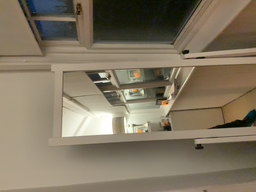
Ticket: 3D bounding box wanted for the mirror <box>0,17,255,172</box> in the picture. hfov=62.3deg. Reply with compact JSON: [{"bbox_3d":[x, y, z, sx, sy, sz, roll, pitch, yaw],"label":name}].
[{"bbox_3d":[0.460,0.000,1.170,0.420,1.950,0.610,122,145,-73],"label":"mirror"}]
